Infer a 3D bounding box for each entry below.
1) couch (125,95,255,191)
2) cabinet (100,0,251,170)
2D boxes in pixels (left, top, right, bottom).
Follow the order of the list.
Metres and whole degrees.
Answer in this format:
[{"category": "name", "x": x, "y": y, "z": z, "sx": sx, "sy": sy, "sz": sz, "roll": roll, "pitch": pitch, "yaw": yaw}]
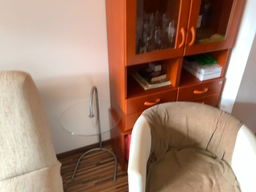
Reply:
[{"category": "couch", "x": 0.360, "y": 0.450, "z": 1.310, "sx": 0.660, "sy": 0.620, "sz": 0.660, "roll": 4, "pitch": 32, "yaw": 6}, {"category": "cabinet", "x": 0.300, "y": -0.320, "z": 1.500, "sx": 0.880, "sy": 1.730, "sz": 0.350, "roll": -13, "pitch": 34, "yaw": -19}]
